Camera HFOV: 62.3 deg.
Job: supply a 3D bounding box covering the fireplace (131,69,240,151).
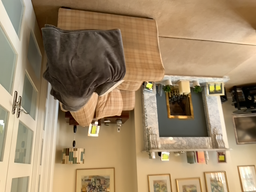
[{"bbox_3d":[0.940,0.300,3.740,1.590,1.240,0.690,3,162,-14],"label":"fireplace"}]
